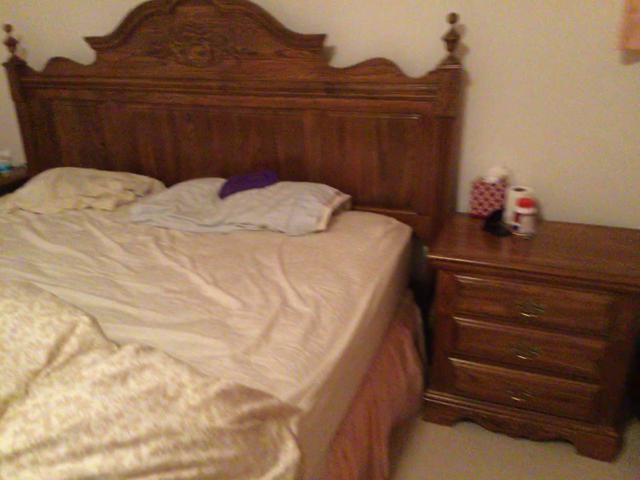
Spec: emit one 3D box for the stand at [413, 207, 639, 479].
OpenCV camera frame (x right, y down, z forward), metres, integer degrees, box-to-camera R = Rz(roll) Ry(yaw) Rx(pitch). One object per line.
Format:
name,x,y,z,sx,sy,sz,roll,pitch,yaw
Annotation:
stand,0.720,0.300,1.960,0.700,0.700,0.450,4,19,24
